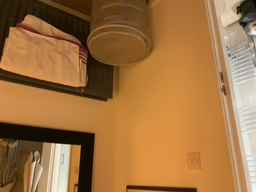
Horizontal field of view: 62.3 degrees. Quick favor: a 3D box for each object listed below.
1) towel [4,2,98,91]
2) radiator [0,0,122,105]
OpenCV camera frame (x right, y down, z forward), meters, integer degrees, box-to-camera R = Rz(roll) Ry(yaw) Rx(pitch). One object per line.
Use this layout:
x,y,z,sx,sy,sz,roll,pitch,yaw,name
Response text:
-0.520,-0.330,1.550,0.590,0.440,0.130,16,155,-37,towel
-0.560,-0.410,1.720,1.130,0.740,0.200,15,155,-37,radiator
